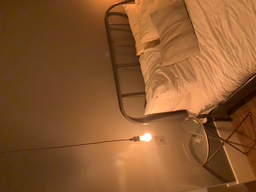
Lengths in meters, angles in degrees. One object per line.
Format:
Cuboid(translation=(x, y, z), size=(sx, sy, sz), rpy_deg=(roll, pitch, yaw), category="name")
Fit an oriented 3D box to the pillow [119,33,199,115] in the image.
Cuboid(translation=(0.290, -0.220, 1.930), size=(0.650, 0.430, 0.200), rpy_deg=(-52, -11, -29), category="pillow")
